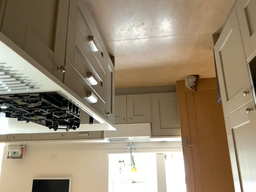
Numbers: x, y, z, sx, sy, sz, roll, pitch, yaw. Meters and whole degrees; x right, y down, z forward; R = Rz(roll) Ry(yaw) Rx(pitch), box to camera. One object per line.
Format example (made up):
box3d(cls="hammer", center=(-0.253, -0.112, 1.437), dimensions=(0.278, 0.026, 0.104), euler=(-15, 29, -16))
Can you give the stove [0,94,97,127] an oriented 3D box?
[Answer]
box3d(cls="stove", center=(-0.610, 0.140, 1.520), dimensions=(0.560, 0.030, 0.890), euler=(-2, 163, 6))
